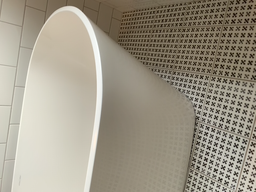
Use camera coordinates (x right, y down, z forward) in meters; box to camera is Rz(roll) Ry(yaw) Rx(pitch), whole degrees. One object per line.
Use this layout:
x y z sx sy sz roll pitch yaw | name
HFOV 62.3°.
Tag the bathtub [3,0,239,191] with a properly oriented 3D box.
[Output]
-0.200 0.510 1.010 0.780 0.550 1.690 19 101 49 | bathtub
